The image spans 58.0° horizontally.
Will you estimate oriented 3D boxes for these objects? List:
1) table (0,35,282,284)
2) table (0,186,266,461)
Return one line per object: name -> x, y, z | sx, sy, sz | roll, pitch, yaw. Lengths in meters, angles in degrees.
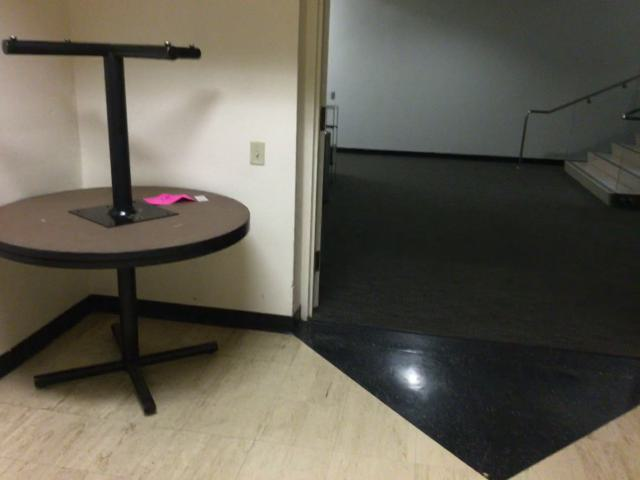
table -> -0.870, -0.400, 2.360 | 1.180, 0.730, 1.040 | 6, 15, 8
table -> -0.850, 0.260, 2.440 | 1.020, 0.750, 0.870 | 6, 15, 8
